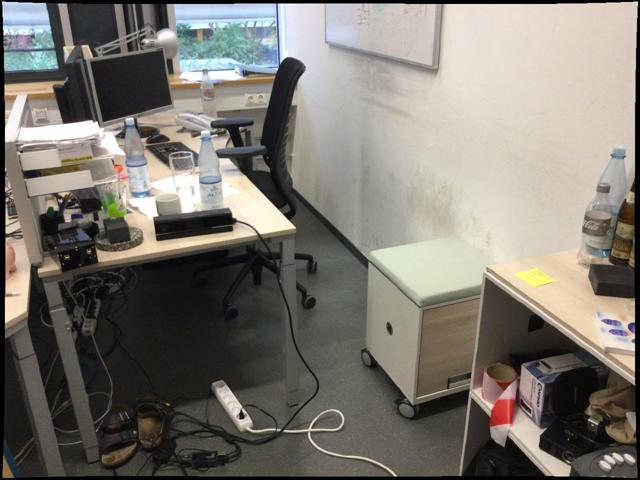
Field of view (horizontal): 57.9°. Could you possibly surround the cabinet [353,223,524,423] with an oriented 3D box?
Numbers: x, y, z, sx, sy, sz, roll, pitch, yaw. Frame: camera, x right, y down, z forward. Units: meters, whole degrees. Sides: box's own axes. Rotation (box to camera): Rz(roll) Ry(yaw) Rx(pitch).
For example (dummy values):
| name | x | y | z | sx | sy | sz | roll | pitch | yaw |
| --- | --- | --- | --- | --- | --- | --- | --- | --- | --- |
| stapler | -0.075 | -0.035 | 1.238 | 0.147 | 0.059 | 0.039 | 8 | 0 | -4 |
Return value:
| name | x | y | z | sx | sy | sz | roll | pitch | yaw |
| --- | --- | --- | --- | --- | --- | --- | --- | --- | --- |
| cabinet | 0.430 | 0.300 | 2.280 | 0.440 | 0.530 | 0.480 | -10 | 27 | -19 |
